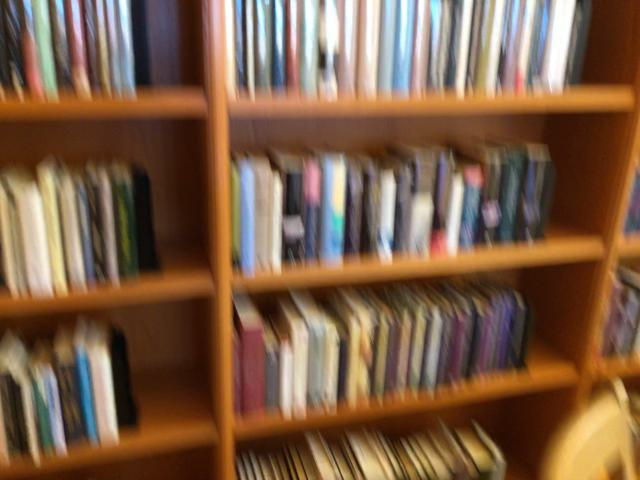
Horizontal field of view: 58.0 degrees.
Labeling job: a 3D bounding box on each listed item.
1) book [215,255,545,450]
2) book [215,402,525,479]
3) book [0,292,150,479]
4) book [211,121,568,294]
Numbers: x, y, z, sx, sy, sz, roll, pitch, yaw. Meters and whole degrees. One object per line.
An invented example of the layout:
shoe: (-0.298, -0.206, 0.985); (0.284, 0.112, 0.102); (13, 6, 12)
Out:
book: (0.150, 0.260, 1.470); (0.780, 0.310, 0.220); (-6, 19, -16)
book: (0.140, 0.690, 1.590); (0.810, 0.280, 0.200); (-6, 19, -16)
book: (-0.750, 0.330, 1.190); (0.740, 0.310, 0.190); (-6, 19, -16)
book: (0.160, -0.100, 1.360); (0.780, 0.300, 0.220); (-6, 19, -16)
